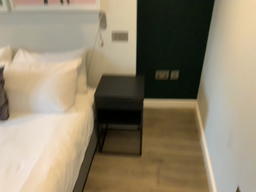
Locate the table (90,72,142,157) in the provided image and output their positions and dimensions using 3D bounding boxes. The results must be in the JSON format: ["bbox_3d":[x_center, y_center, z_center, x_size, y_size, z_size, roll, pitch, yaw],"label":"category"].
[{"bbox_3d":[-0.080,0.170,2.010,0.410,0.680,0.420,1,31,3],"label":"table"}]
